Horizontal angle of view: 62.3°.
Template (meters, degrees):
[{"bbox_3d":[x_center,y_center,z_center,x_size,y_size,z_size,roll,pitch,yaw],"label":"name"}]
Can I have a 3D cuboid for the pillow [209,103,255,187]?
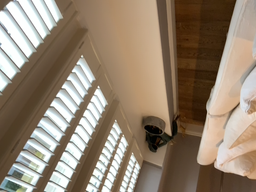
[{"bbox_3d":[0.980,0.420,1.800,0.290,0.460,0.500,49,165,44],"label":"pillow"}]
